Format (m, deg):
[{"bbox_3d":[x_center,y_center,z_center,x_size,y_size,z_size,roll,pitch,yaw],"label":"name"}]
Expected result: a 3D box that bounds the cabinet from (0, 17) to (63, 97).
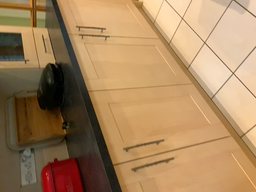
[{"bbox_3d":[-1.150,-0.280,1.450,0.560,1.240,0.290,64,146,33],"label":"cabinet"}]
